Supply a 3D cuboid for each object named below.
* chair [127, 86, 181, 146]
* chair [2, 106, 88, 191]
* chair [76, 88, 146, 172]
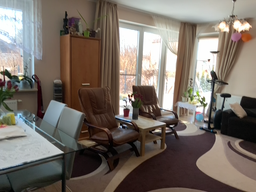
[{"bbox_3d":[0.490,0.340,4.210,0.590,0.970,0.840,-3,11,-36],"label":"chair"},{"bbox_3d":[-0.760,0.620,1.960,0.610,0.950,0.430,-3,10,-39],"label":"chair"},{"bbox_3d":[-0.280,0.430,3.230,0.660,1.000,0.800,-5,12,-44],"label":"chair"}]
